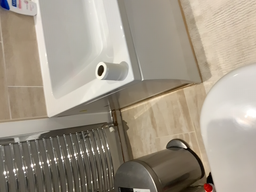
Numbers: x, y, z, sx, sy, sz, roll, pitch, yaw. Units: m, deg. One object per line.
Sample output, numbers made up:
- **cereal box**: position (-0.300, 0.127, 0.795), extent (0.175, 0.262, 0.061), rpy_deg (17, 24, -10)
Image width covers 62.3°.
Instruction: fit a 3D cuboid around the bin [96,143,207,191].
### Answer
- **bin**: position (0.140, 0.430, 1.140), extent (0.330, 0.480, 0.230), rpy_deg (-20, 78, 41)
